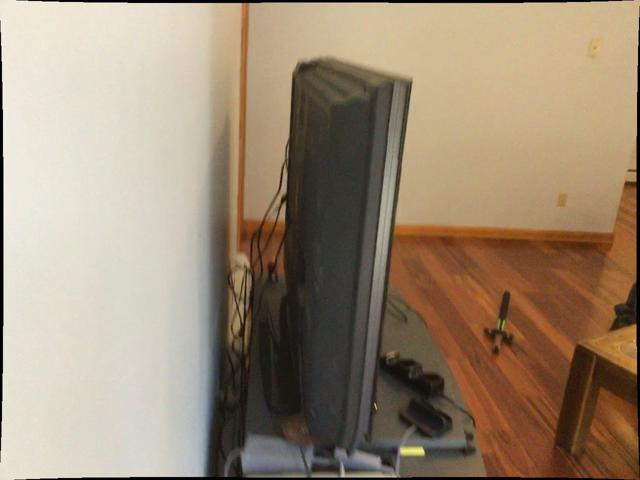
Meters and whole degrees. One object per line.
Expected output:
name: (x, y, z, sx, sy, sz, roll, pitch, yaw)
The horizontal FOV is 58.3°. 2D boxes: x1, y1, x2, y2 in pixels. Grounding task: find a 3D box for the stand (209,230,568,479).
stand: (0.060, 0.500, 1.790, 0.679, 0.630, 1.320, 4, 19, -6)
